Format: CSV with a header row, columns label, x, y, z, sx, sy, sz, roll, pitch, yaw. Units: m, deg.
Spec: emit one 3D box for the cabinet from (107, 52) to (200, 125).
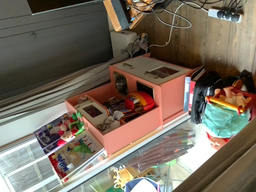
label,x,y,z,sx,sy,sz,roll,pitch,yaw
cabinet,0.220,-0.120,1.970,0.680,0.490,0.360,27,133,49
